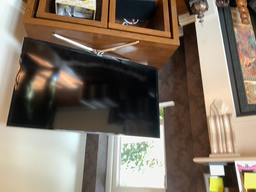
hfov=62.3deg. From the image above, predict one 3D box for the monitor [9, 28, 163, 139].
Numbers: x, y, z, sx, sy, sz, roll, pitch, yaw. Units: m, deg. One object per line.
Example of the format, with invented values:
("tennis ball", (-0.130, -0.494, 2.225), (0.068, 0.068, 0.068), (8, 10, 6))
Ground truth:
("monitor", (-0.190, -0.060, 1.380), (0.930, 0.590, 0.040), (10, 158, -22))
